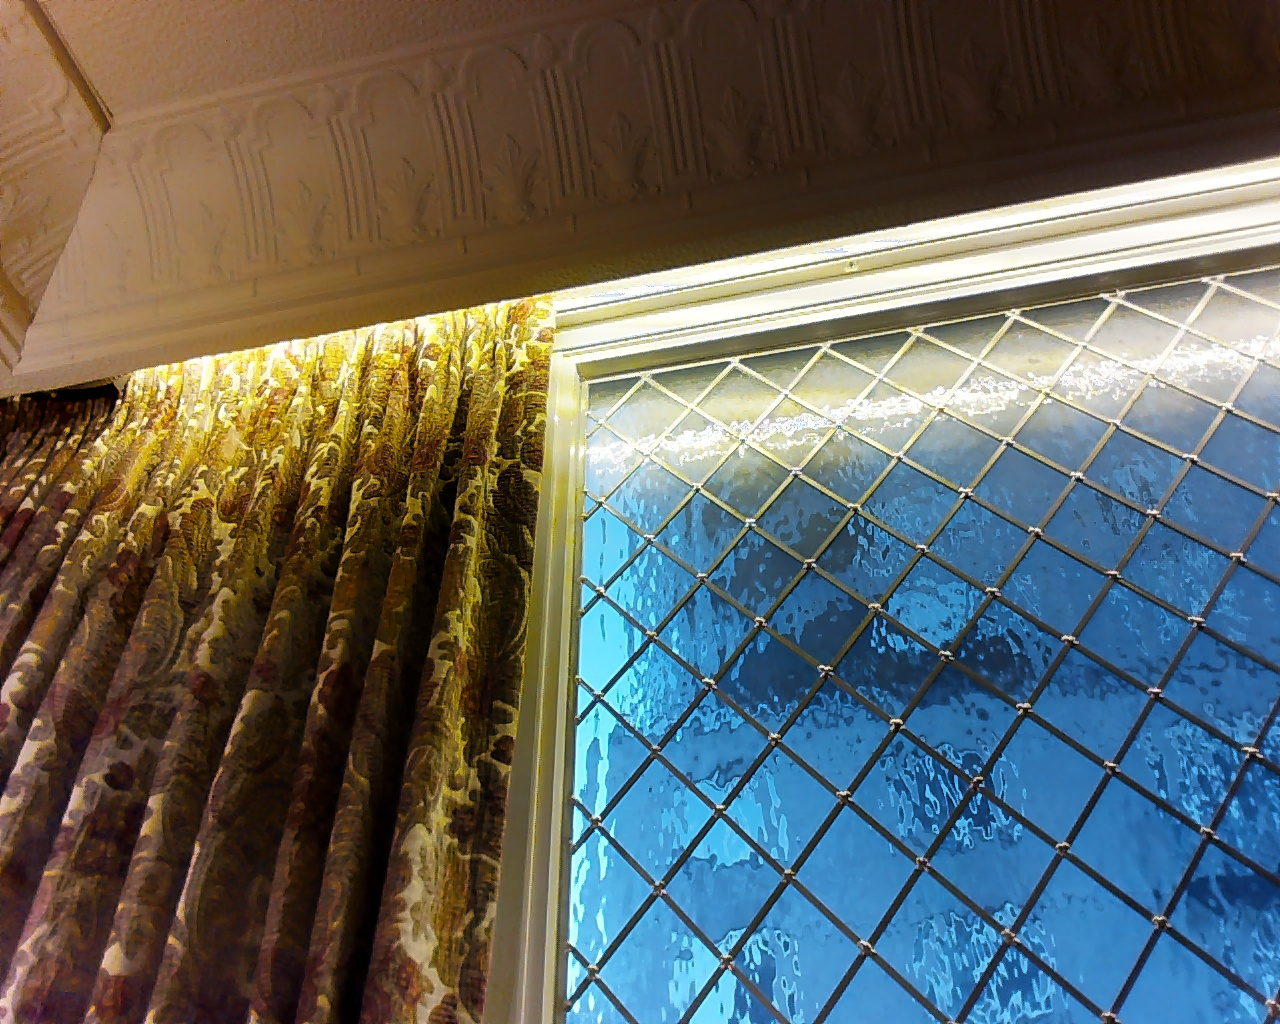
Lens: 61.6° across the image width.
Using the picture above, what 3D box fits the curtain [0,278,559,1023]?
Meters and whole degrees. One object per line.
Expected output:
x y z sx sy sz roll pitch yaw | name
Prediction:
-0.550 0.240 1.130 0.860 1.210 0.140 -7 -42 8 | curtain

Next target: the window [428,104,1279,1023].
0.740 0.070 0.970 1.799 1.310 0.220 -9 -43 10 | window
